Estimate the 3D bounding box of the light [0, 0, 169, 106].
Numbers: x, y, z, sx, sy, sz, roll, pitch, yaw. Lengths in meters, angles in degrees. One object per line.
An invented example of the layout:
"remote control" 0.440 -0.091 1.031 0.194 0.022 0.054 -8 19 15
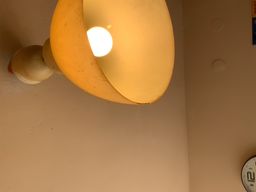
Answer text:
"light" -0.230 -0.140 0.530 0.530 0.310 0.350 -5 177 42
